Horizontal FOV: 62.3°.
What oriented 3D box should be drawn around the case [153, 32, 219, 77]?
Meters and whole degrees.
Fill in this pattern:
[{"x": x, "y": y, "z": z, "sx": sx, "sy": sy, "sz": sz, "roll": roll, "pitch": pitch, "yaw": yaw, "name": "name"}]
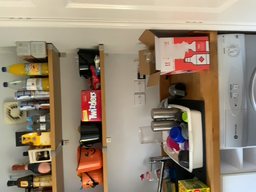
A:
[{"x": 0.310, "y": -0.220, "z": 1.220, "sx": 0.360, "sy": 0.240, "sz": 0.200, "roll": -165, "pitch": 74, "yaw": -81, "name": "case"}]
